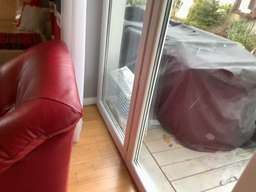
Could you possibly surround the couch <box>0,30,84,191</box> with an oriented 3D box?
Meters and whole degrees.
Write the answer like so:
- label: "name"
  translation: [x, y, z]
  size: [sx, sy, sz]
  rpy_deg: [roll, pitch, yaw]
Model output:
- label: "couch"
  translation: [-0.860, 0.200, 1.220]
  size: [1.050, 0.890, 0.980]
  rpy_deg: [-2, 32, -18]
